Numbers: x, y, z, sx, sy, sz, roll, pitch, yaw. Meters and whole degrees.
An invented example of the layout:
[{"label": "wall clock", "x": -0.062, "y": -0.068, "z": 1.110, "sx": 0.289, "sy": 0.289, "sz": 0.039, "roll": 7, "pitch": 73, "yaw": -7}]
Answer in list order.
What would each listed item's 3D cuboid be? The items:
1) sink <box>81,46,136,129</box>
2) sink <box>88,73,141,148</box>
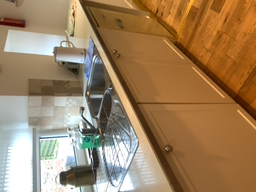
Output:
[{"label": "sink", "x": -0.180, "y": -0.060, "z": 1.650, "sx": 0.360, "sy": 0.230, "sz": 0.510, "roll": -117, "pitch": 37, "yaw": -45}, {"label": "sink", "x": -0.110, "y": 0.110, "z": 1.450, "sx": 0.180, "sy": 0.200, "sz": 0.510, "roll": -117, "pitch": 37, "yaw": -45}]
